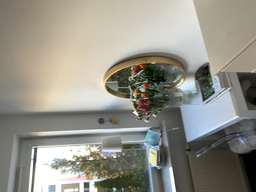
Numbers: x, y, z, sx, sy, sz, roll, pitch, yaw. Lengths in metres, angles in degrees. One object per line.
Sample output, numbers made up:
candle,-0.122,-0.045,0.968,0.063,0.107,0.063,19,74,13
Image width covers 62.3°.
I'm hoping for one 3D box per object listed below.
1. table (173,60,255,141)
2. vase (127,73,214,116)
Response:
table,0.940,0.090,1.830,0.810,0.790,0.400,116,151,-65
vase,0.300,0.000,1.660,0.400,0.540,0.200,120,147,-67
